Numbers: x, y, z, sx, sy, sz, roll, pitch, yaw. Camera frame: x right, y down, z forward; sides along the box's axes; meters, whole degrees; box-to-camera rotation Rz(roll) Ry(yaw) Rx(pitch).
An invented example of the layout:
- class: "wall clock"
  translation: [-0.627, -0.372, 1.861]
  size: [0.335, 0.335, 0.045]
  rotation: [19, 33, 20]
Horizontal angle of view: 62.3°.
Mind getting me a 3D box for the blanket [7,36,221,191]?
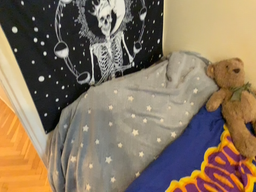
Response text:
- class: "blanket"
  translation: [0.020, 0.050, 1.080]
  size: [0.430, 0.300, 0.980]
  rotation: [28, 49, 34]
